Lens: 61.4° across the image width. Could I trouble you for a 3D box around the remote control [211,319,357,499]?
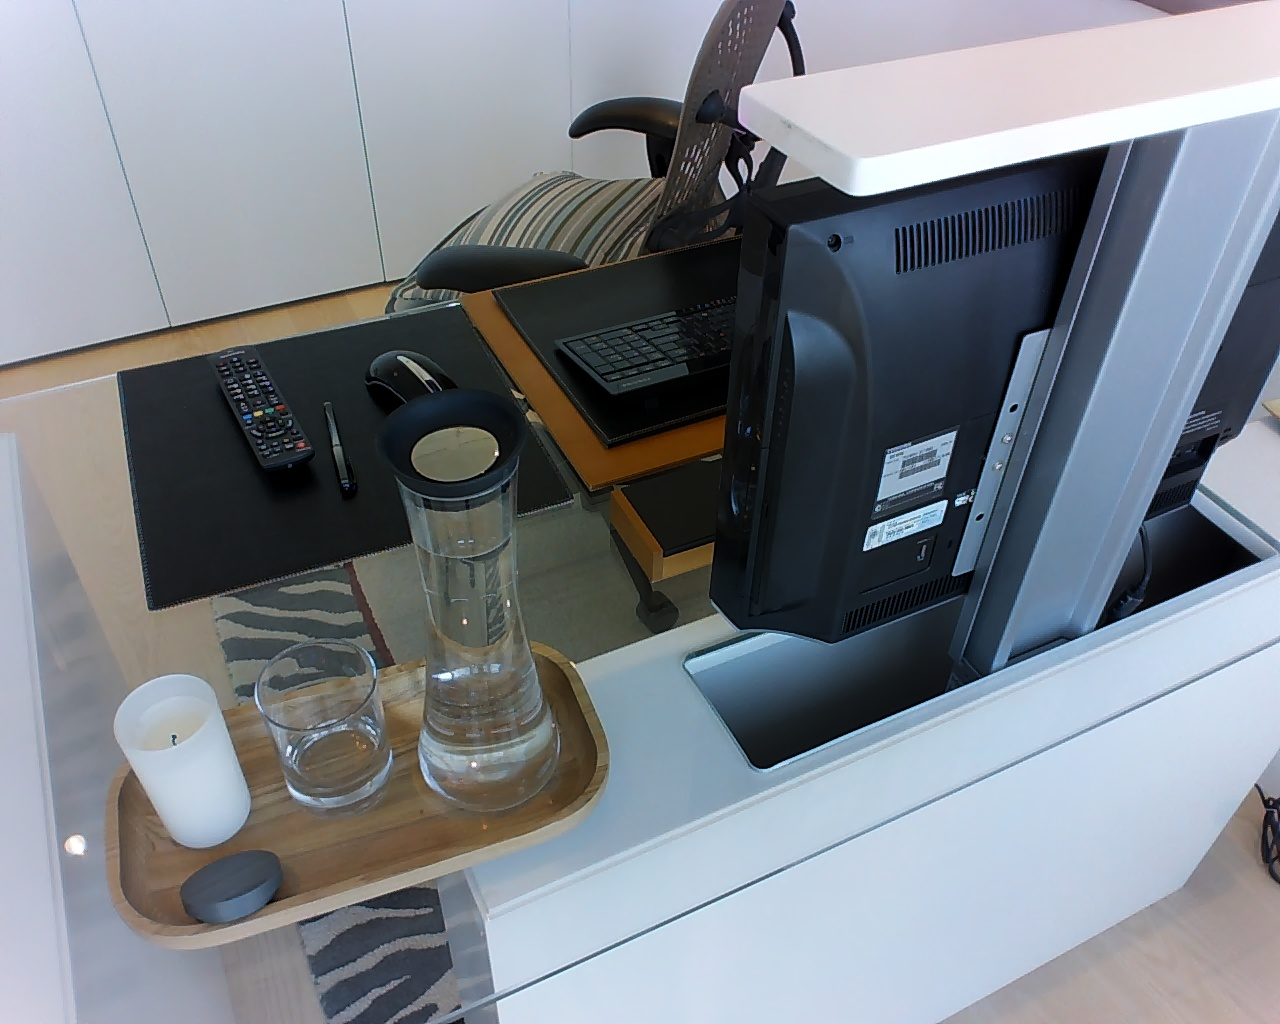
[{"bbox_3d":[-0.360,-0.110,1.080,0.080,0.040,0.240,-18,45,-21],"label":"remote control"}]
